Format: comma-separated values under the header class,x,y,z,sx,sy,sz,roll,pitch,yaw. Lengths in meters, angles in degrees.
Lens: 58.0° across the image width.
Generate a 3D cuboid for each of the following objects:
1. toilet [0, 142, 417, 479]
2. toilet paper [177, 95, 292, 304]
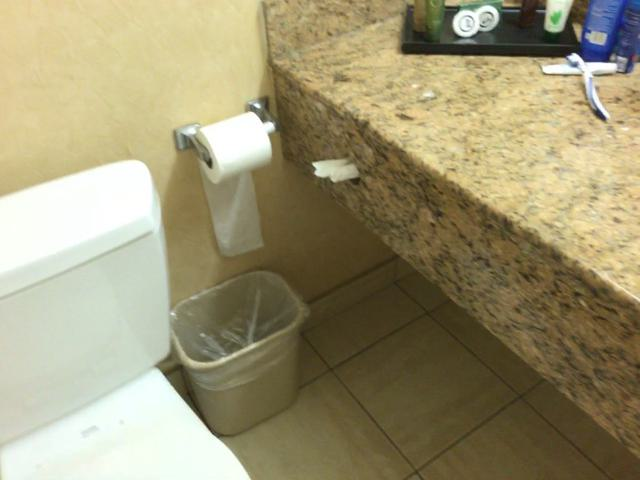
class,x,y,z,sx,sy,sz,roll,pitch,yaw
toilet,-0.320,0.400,0.910,0.510,0.730,0.740,-26,47,-25
toilet paper,-0.160,-0.070,1.160,0.140,0.390,0.120,-26,47,-25
